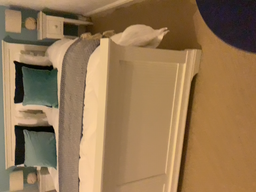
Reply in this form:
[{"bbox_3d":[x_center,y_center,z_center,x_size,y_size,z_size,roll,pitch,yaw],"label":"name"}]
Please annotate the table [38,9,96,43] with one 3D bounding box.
[{"bbox_3d":[-0.780,-0.870,2.710,0.340,0.640,0.300,22,110,58],"label":"table"}]
